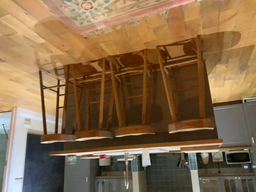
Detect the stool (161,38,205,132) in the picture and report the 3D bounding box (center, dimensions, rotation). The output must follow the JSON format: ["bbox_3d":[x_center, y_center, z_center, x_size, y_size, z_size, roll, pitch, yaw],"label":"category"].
[{"bbox_3d":[0.520,-0.090,2.020,0.290,0.800,0.300,-8,163,19],"label":"stool"}]

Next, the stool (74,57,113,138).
[{"bbox_3d":[-0.360,0.030,2.280,0.290,0.800,0.300,-8,163,19],"label":"stool"}]
